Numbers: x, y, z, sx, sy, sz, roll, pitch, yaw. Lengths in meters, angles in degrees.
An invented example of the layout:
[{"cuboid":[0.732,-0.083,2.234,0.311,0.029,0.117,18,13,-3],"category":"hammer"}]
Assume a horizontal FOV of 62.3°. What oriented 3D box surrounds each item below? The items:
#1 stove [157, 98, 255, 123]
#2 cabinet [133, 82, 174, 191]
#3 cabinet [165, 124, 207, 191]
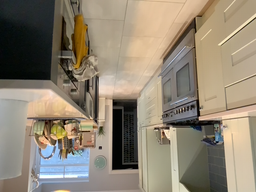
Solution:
[{"cuboid":[0.760,0.190,2.300,0.630,0.160,1.080,0,170,-7],"category":"stove"},{"cuboid":[0.500,0.880,4.620,0.590,2.210,0.970,0,170,-7],"category":"cabinet"},{"cuboid":[0.780,0.990,2.900,0.430,1.190,0.310,0,170,-7],"category":"cabinet"}]
